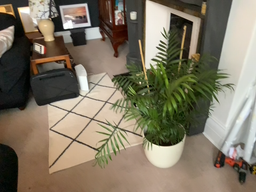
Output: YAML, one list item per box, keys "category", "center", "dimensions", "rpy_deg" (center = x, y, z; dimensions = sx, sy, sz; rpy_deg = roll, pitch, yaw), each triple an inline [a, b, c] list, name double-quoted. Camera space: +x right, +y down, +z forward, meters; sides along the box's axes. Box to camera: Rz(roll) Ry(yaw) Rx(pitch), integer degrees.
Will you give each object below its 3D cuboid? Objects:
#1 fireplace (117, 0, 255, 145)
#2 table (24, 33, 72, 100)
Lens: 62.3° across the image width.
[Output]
- category: "fireplace"
  center: [0.470, -0.620, 2.170]
  dimensions: [0.600, 1.290, 1.680]
  rpy_deg: [-14, 36, -17]
- category: "table"
  center: [-1.000, -0.410, 2.650]
  dimensions: [0.390, 0.490, 0.810]
  rpy_deg: [-13, 35, -16]
